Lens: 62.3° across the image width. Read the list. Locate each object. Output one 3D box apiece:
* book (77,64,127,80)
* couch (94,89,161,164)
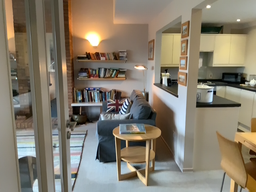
[{"bbox_3d":[-0.630,-0.600,5.250,1.200,0.360,0.260,0,10,-2],"label":"book"},{"bbox_3d":[-0.080,0.390,3.740,0.890,0.810,1.750,0,10,-5],"label":"couch"}]
